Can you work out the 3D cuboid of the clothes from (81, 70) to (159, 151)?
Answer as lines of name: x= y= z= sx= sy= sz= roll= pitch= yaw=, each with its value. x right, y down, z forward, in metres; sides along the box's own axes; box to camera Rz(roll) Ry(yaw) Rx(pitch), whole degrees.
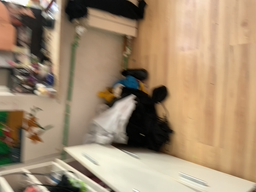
clothes: x=-0.060 y=0.090 z=1.760 sx=0.330 sy=0.510 sz=0.560 roll=8 pitch=95 yaw=46
